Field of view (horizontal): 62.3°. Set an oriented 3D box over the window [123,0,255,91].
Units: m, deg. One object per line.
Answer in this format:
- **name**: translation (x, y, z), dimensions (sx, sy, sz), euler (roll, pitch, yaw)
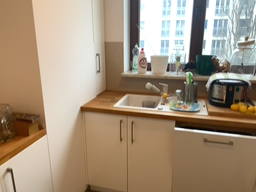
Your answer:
- **window**: translation (0.700, -0.880, 2.020), dimensions (1.480, 1.570, 0.250), euler (5, 17, 15)
